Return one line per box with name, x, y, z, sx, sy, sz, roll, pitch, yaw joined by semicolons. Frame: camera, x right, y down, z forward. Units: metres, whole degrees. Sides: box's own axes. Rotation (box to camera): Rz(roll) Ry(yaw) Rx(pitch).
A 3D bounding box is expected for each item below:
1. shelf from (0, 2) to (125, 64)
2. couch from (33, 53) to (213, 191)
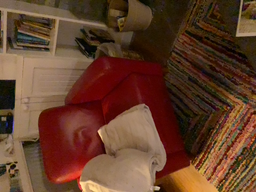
shelf;-1.130;-0.500;1.540;0.230;2.430;0.370;45;127;43
couch;-0.120;0.260;1.550;0.880;0.840;0.720;-35;65;50
